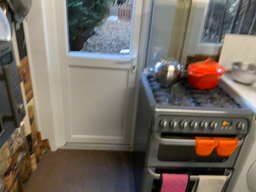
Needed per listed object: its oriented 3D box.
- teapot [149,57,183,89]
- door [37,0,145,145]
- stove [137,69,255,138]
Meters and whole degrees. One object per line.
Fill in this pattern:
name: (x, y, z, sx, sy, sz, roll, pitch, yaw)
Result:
teapot: (0.260, -0.170, 1.520, 0.180, 0.140, 0.250, 3, 27, -4)
door: (-0.290, -0.390, 1.740, 0.780, 1.950, 0.060, 1, 27, -7)
stove: (0.400, 0.020, 1.490, 0.600, 0.180, 0.620, 3, 27, -5)
